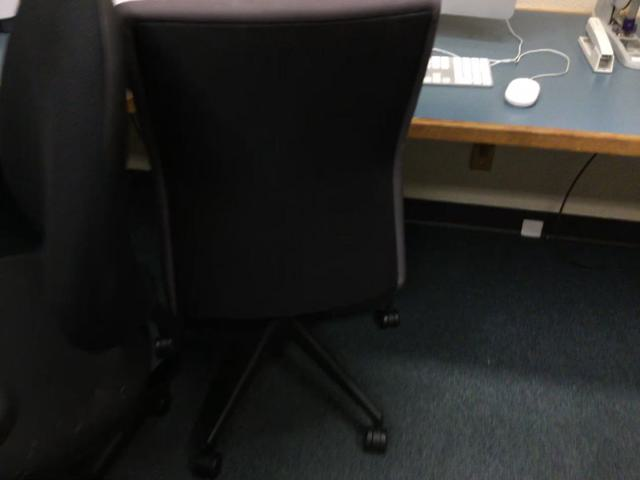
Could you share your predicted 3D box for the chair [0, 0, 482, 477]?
[{"bbox_3d":[-0.160,-0.030,1.220,0.700,1.000,0.500,3,36,0],"label":"chair"}]
